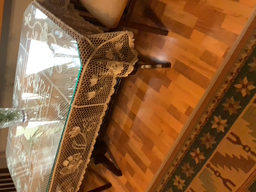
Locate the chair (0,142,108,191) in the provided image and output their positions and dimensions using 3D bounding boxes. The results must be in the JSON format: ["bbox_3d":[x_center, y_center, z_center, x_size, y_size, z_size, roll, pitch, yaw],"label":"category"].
[{"bbox_3d":[-0.780,0.850,1.810,0.600,0.970,0.400,46,124,33],"label":"chair"}]
